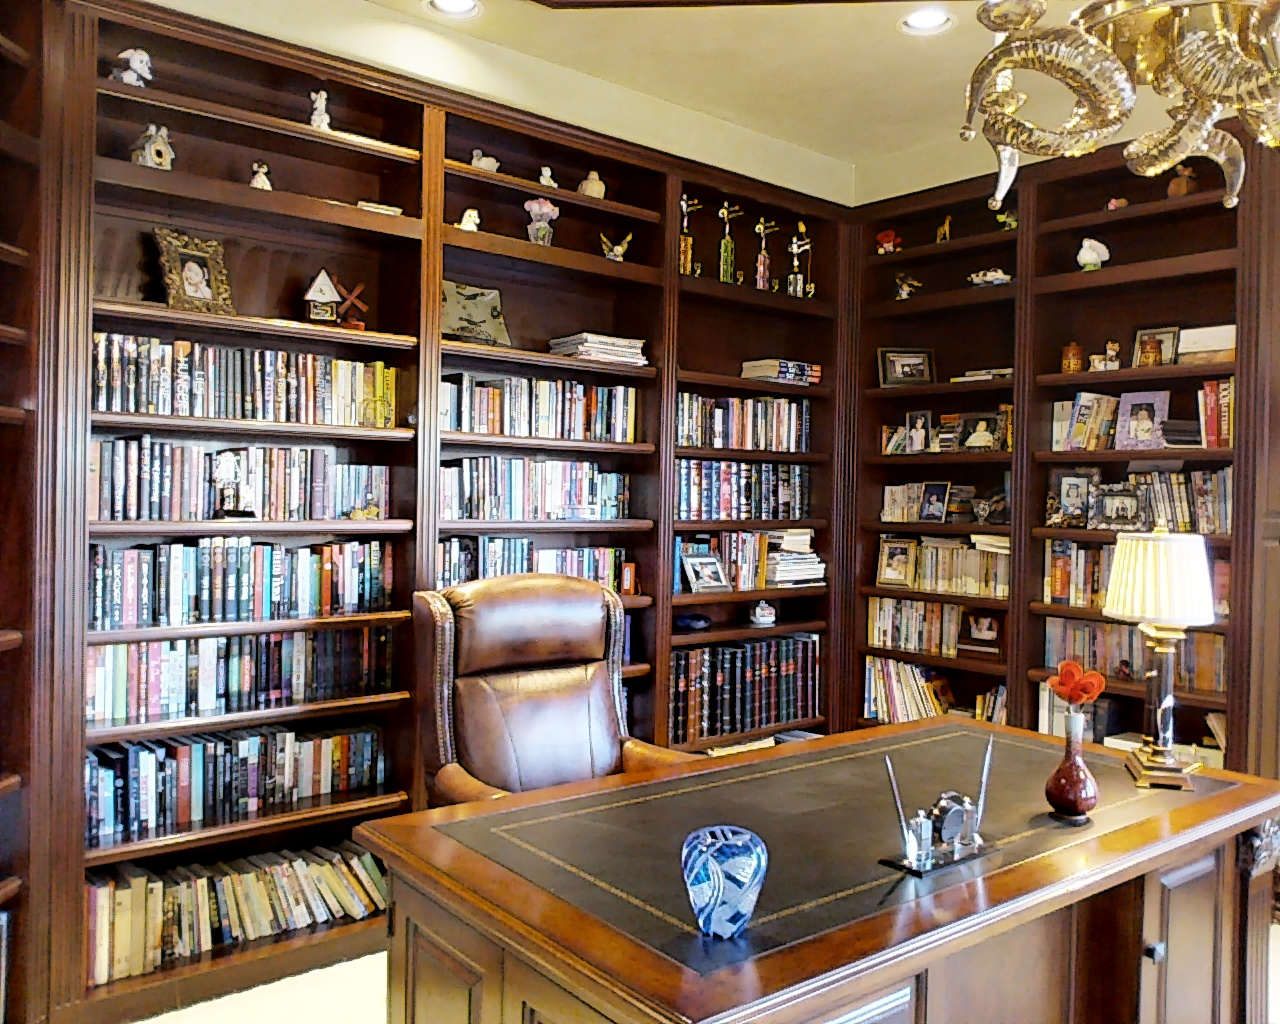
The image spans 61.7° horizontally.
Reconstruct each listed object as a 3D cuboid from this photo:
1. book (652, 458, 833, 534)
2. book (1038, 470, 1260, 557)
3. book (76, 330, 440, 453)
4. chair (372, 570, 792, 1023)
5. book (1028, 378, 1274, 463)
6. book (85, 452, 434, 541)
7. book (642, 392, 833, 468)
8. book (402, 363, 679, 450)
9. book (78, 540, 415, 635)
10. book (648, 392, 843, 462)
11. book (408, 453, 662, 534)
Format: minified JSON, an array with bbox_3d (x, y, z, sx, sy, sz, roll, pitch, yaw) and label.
[{"bbox_3d":[0.450,-0.060,4.470,0.950,0.290,0.140,0,1,-42],"label":"book"},{"bbox_3d":[1.850,0.000,3.920,0.320,0.290,0.660,0,1,-44],"label":"book"},{"bbox_3d":[-1.080,-0.330,3.130,0.980,0.270,0.210,0,1,-38],"label":"book"},{"bbox_3d":[-0.180,0.770,2.920,0.760,1.150,0.870,0,1,-38],"label":"chair"},{"bbox_3d":[1.850,-0.320,3.930,0.260,0.260,0.770,0,1,-40],"label":"book"},{"bbox_3d":[-1.090,-0.040,3.150,0.930,0.230,0.260,0,1,-38],"label":"book"},{"bbox_3d":[0.430,-0.330,4.500,0.940,0.260,0.210,0,1,-42],"label":"book"},{"bbox_3d":[-0.340,-0.360,3.840,0.940,0.230,0.350,0,1,-37],"label":"book"},{"bbox_3d":[-1.130,0.210,3.180,0.950,0.240,0.110,0,1,-38],"label":"book"},{"bbox_3d":[0.460,-0.340,4.460,0.950,0.230,0.220,0,1,-42],"label":"book"},{"bbox_3d":[-0.350,-0.060,3.820,0.930,0.260,0.240,0,1,-41],"label":"book"}]
